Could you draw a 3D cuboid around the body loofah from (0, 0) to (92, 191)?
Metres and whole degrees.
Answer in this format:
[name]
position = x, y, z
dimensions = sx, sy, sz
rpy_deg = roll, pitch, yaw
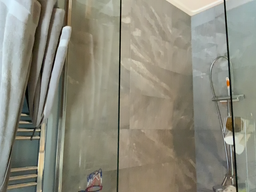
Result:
[body loofah]
position = -0.490, -0.060, 1.100
dimensions = 0.470, 1.570, 0.330
rpy_deg = 8, 169, -43
